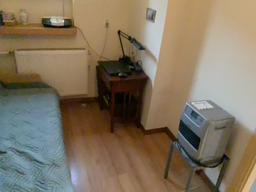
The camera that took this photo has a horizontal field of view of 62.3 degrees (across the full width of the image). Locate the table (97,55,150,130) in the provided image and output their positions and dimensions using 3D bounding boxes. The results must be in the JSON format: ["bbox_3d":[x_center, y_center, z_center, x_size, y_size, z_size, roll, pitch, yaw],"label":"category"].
[{"bbox_3d":[-0.110,-0.080,2.690,0.430,0.660,0.740,-4,29,-18],"label":"table"}]

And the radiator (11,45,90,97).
[{"bbox_3d":[-0.920,-0.310,2.640,0.860,0.610,0.110,-4,29,-17],"label":"radiator"}]
